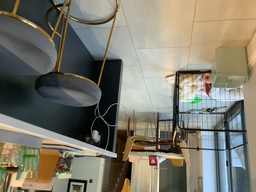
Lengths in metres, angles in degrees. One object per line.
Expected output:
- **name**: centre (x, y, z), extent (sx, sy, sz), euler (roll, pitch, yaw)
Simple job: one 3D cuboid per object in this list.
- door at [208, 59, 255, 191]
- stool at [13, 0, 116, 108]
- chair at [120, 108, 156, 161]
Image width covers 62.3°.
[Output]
- **door**: centre (1.520, 1.210, 2.870), extent (0.270, 2.340, 3.160), euler (0, 161, 12)
- **stool**: centre (-0.310, -0.310, 1.230), extent (0.350, 0.680, 0.350), euler (0, 161, 12)
- **chair**: centre (0.180, 0.710, 3.860), extent (0.540, 0.850, 0.430), euler (7, 161, -9)
